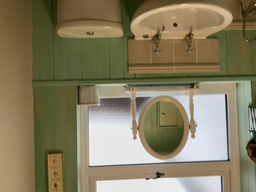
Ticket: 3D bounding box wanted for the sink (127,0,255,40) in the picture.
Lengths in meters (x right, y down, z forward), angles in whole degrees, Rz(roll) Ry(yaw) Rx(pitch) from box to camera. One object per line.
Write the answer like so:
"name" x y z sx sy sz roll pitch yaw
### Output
"sink" 0.290 -0.460 1.180 0.560 0.150 0.450 -3 179 -4
